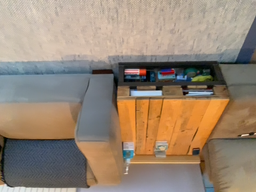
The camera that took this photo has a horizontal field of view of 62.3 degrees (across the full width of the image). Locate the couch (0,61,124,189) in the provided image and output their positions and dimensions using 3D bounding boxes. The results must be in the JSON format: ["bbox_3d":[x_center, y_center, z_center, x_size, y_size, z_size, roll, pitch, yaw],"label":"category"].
[{"bbox_3d":[-0.750,0.320,1.940,1.390,0.740,0.980,-1,142,1],"label":"couch"}]
